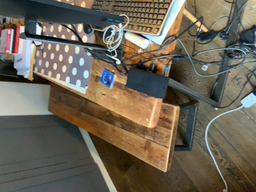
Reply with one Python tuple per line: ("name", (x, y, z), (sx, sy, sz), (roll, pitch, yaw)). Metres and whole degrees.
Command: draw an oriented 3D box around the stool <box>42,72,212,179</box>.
("stool", (-0.160, 0.100, 1.710), (1.470, 0.430, 0.380), (15, 99, 44))
